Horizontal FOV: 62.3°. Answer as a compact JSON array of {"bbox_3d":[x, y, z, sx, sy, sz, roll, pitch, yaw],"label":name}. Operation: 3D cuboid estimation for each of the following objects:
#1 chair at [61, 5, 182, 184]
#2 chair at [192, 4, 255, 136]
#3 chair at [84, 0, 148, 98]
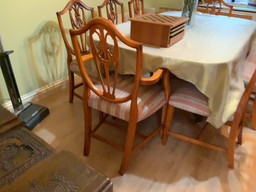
[{"bbox_3d":[-0.030,-0.020,1.390,0.490,0.980,0.460,16,33,22],"label":"chair"},{"bbox_3d":[0.950,-0.240,1.860,0.440,0.980,0.470,20,34,27],"label":"chair"},{"bbox_3d":[-0.130,-0.560,2.330,0.440,0.980,0.470,21,35,28],"label":"chair"}]
